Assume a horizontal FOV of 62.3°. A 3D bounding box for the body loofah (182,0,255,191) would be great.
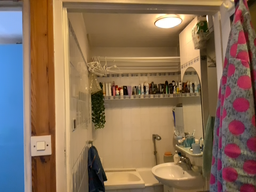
[{"bbox_3d":[0.350,0.210,0.760,0.160,1.110,0.310,-1,-2,-7],"label":"body loofah"}]
